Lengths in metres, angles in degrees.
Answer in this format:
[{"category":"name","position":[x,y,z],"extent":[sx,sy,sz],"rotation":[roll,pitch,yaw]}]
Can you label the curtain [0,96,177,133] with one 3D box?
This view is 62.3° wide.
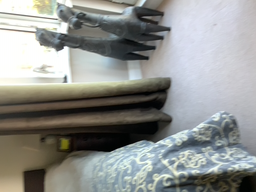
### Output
[{"category":"curtain","position":[-0.750,0.130,1.460],"extent":[0.430,2.370,0.190],"rotation":[171,97,-64]}]
